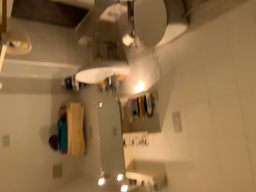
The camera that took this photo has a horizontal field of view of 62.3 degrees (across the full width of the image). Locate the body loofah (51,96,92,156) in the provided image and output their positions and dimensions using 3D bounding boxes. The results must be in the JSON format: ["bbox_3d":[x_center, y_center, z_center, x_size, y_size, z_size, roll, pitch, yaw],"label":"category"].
[{"bbox_3d":[-0.820,0.420,3.020,0.400,0.760,0.510,0,170,-32],"label":"body loofah"}]
